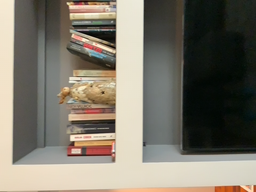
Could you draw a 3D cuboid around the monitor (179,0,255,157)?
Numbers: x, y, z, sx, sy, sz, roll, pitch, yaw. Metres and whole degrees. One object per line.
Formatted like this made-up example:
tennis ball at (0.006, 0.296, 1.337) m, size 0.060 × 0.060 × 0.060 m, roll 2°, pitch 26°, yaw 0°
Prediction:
monitor at (0.540, -0.200, 0.970) m, size 0.060 × 0.590 × 0.940 m, roll -172°, pitch 82°, yaw -85°
